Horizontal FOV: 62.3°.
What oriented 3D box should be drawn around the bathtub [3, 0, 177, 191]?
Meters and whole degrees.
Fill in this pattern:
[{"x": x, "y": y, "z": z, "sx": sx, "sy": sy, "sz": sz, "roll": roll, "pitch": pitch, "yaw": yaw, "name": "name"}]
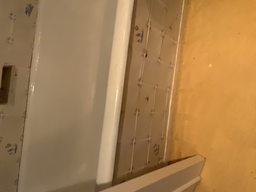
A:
[{"x": -0.210, "y": -0.080, "z": 1.260, "sx": 0.710, "sy": 0.520, "sz": 1.680, "roll": 6, "pitch": 89, "yaw": 36, "name": "bathtub"}]
